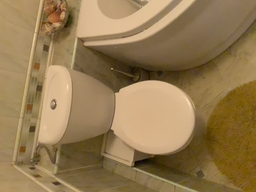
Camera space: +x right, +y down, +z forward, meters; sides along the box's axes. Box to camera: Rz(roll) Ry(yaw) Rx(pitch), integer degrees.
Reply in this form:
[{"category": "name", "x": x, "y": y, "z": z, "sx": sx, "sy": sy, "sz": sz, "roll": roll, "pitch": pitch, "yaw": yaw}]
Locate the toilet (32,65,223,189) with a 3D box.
[{"category": "toilet", "x": 0.040, "y": 0.110, "z": 1.140, "sx": 0.650, "sy": 0.750, "sz": 0.380, "roll": 7, "pitch": 87, "yaw": 39}]
